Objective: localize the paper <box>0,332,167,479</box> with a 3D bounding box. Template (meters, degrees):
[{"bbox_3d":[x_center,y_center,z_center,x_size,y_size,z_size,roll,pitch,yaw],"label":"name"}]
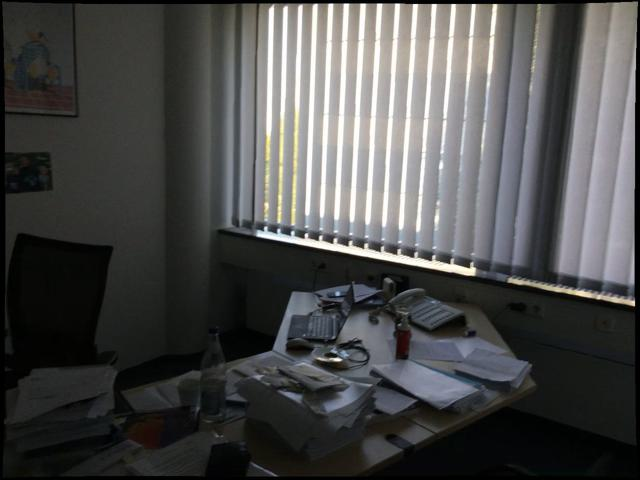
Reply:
[{"bbox_3d":[-0.699,0.440,1.600,0.380,0.180,0.370,11,16,34],"label":"paper"}]
